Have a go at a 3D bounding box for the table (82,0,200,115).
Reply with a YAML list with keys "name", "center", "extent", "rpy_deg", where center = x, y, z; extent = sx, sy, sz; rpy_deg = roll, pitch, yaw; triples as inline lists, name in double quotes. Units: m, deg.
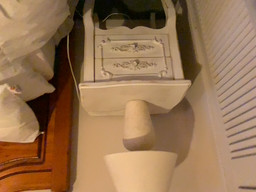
- name: "table"
  center: [0.020, -0.270, 1.050]
  extent: [0.430, 0.630, 0.370]
  rpy_deg: [-2, 159, -5]
